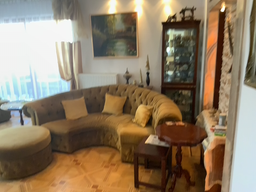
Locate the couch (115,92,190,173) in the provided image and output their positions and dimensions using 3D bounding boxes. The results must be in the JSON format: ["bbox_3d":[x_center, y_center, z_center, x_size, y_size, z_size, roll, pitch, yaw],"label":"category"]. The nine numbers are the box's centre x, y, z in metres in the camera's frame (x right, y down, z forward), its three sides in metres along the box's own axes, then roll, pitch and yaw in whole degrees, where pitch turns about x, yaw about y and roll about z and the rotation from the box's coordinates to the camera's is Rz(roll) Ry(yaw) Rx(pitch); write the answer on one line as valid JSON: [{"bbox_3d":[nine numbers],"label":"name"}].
[{"bbox_3d":[0.290,0.460,3.020,0.850,0.840,0.760,-3,14,-9],"label":"couch"}]

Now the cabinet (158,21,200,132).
[{"bbox_3d":[0.910,-0.330,3.890,0.650,1.920,0.350,2,14,12],"label":"cabinet"}]

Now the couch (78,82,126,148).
[{"bbox_3d":[-0.400,0.280,3.690,0.610,0.900,0.860,1,14,7],"label":"couch"}]

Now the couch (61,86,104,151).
[{"bbox_3d":[-0.810,0.330,3.650,0.530,0.830,0.870,-6,15,-21],"label":"couch"}]

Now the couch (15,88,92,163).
[{"bbox_3d":[-1.190,0.400,3.420,0.890,0.830,0.750,11,18,40],"label":"couch"}]
